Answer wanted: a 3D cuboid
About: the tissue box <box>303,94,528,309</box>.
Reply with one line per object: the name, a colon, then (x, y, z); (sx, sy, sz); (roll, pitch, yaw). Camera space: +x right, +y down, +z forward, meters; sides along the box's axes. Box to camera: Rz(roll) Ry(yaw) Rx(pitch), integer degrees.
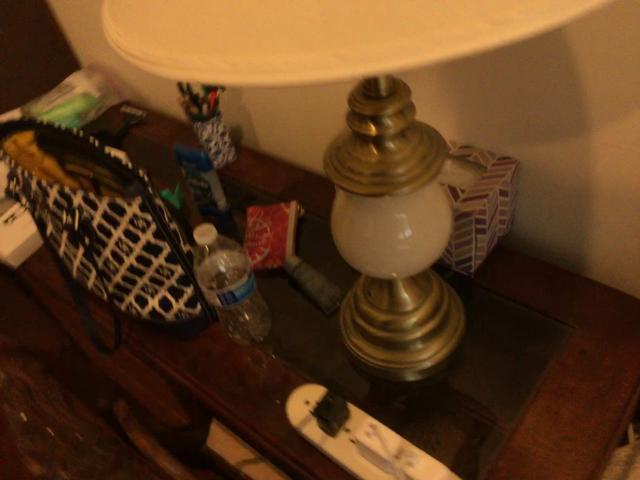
tissue box: (0.130, -0.060, 0.820); (0.260, 0.190, 0.130); (26, 57, 31)
